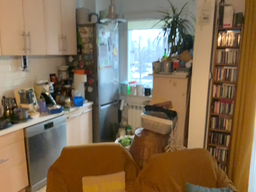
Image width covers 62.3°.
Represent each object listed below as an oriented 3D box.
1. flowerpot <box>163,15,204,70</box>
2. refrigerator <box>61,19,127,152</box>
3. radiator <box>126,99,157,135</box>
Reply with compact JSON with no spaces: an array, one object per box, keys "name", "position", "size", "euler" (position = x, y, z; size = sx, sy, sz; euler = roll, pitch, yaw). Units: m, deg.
[{"name":"flowerpot","position":[0.800,-0.710,2.930],"size":[0.290,0.610,1.020],"euler":[7,13,27]},{"name":"refrigerator","position":[-0.560,-0.210,3.810],"size":[0.730,2.070,0.870],"euler":[7,13,26]},{"name":"radiator","position":[0.250,0.380,3.970],"size":[0.540,0.570,0.170],"euler":[6,13,24]}]
